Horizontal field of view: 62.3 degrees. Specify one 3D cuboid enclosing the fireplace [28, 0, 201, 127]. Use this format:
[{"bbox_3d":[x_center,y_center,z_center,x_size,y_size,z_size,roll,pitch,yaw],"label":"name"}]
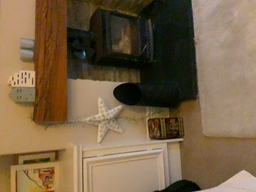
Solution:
[{"bbox_3d":[-0.160,-0.550,1.810,0.840,1.170,1.520,-9,81,60],"label":"fireplace"}]
